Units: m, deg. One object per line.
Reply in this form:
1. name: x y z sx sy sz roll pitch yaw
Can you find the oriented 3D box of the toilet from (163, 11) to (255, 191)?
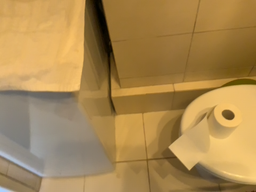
1. toilet: 0.530 0.120 0.800 0.690 0.760 0.390 -5 56 2
